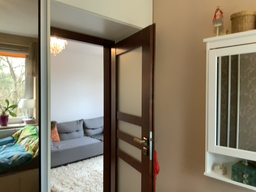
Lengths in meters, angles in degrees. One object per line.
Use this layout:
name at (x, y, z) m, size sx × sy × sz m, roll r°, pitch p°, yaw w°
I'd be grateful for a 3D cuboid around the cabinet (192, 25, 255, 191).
cabinet at (0.770, 0.090, 1.380) m, size 0.150 × 1.040 × 0.670 m, roll -1°, pitch 2°, yaw -44°

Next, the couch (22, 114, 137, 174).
couch at (-1.010, 0.970, 4.990) m, size 2.490 × 0.820 × 0.940 m, roll -1°, pitch 2°, yaw -43°

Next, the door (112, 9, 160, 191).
door at (0.030, 0.410, 2.070) m, size 0.180 × 2.150 × 0.900 m, roll 0°, pitch 2°, yaw -16°
